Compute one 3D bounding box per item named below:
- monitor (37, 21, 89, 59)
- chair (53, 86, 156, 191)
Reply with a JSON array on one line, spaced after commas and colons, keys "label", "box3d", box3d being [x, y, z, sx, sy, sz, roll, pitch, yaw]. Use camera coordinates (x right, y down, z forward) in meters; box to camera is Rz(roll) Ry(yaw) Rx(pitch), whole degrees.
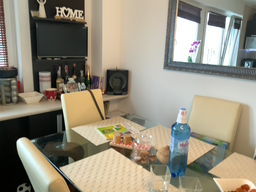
[{"label": "monitor", "box3d": [-0.630, -0.540, 2.100, 0.500, 0.330, 0.030, -7, 20, -35]}, {"label": "chair", "box3d": [-0.210, 0.500, 1.630, 0.440, 1.020, 0.620, -10, 19, -42]}]
